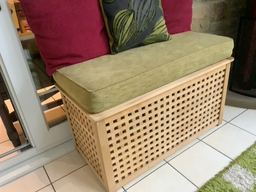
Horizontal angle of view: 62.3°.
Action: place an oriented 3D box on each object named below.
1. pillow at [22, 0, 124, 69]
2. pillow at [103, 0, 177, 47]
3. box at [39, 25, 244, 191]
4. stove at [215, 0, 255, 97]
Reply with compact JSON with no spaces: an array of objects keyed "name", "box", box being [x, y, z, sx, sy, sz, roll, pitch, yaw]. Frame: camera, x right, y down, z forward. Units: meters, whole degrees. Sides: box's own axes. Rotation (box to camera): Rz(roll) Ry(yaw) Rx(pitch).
[{"name":"pillow","box":[-0.260,-0.390,1.080,0.430,0.370,0.170,-22,33,-29]},{"name":"pillow","box":[0.070,-0.510,1.210,0.380,0.370,0.140,-21,20,-26]},{"name":"box","box":[0.130,0.000,1.340,1.060,0.630,0.510,-22,33,-29]},{"name":"stove","box":[1.170,-0.540,1.710,0.670,0.920,0.630,1,30,11]}]
